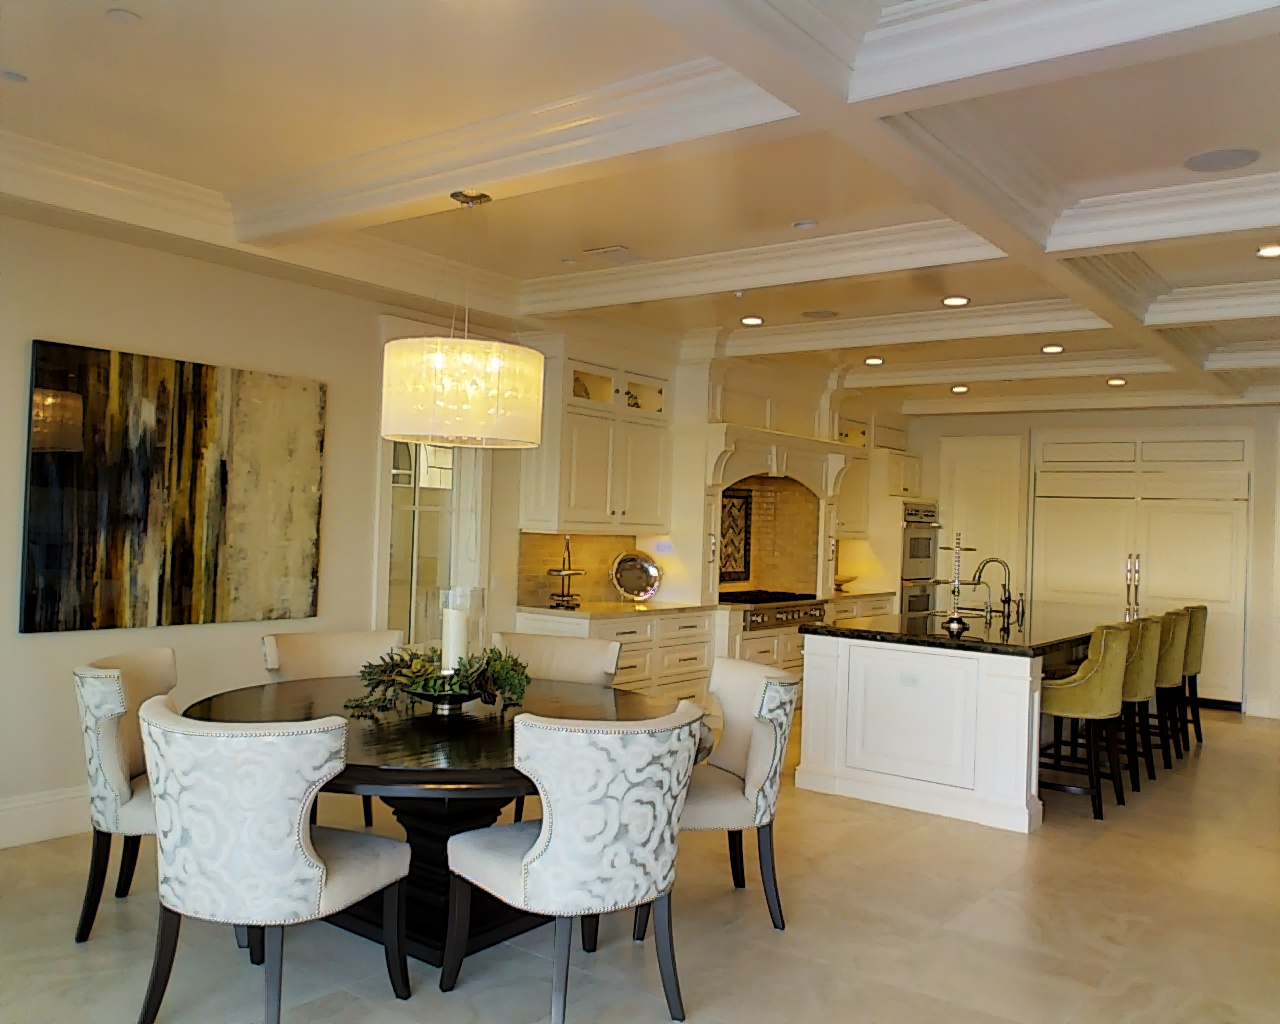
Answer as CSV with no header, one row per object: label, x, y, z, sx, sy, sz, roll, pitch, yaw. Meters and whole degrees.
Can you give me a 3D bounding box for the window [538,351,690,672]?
window,-0.190,-0.010,7.480,0.950,2.111,0.390,2,-1,38
